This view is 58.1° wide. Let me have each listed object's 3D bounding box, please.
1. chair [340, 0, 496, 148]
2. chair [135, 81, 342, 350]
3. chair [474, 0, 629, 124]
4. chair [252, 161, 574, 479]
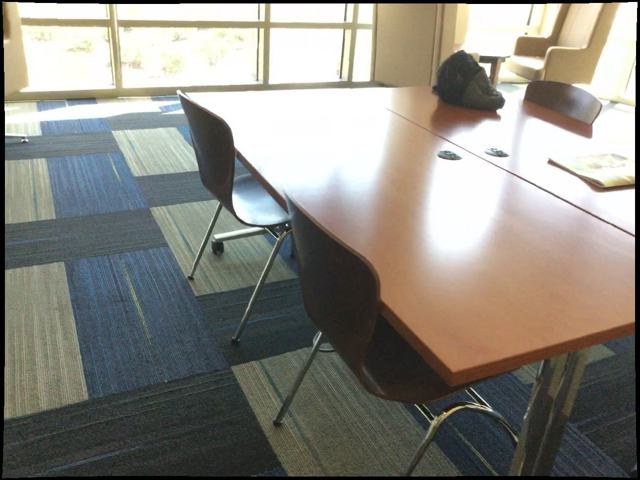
[{"bbox_3d":[0.748,-1.454,4.580,0.729,1.152,0.800,-17,34,-36],"label":"chair"},{"bbox_3d":[-0.329,-0.130,2.160,0.549,0.782,0.570,-9,30,-25],"label":"chair"},{"bbox_3d":[2.115,-1.785,5.410,0.818,1.162,0.830,-1,28,-12],"label":"chair"},{"bbox_3d":[0.170,0.271,1.480,0.539,0.782,0.470,-9,30,-25],"label":"chair"}]
